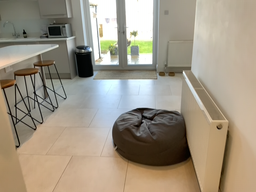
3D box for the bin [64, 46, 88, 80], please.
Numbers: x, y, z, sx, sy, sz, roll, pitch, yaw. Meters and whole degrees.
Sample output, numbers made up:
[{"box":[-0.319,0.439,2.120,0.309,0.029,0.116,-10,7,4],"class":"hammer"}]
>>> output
[{"box":[-1.250,-0.810,5.150,0.380,0.730,0.410,1,22,5],"class":"bin"}]
